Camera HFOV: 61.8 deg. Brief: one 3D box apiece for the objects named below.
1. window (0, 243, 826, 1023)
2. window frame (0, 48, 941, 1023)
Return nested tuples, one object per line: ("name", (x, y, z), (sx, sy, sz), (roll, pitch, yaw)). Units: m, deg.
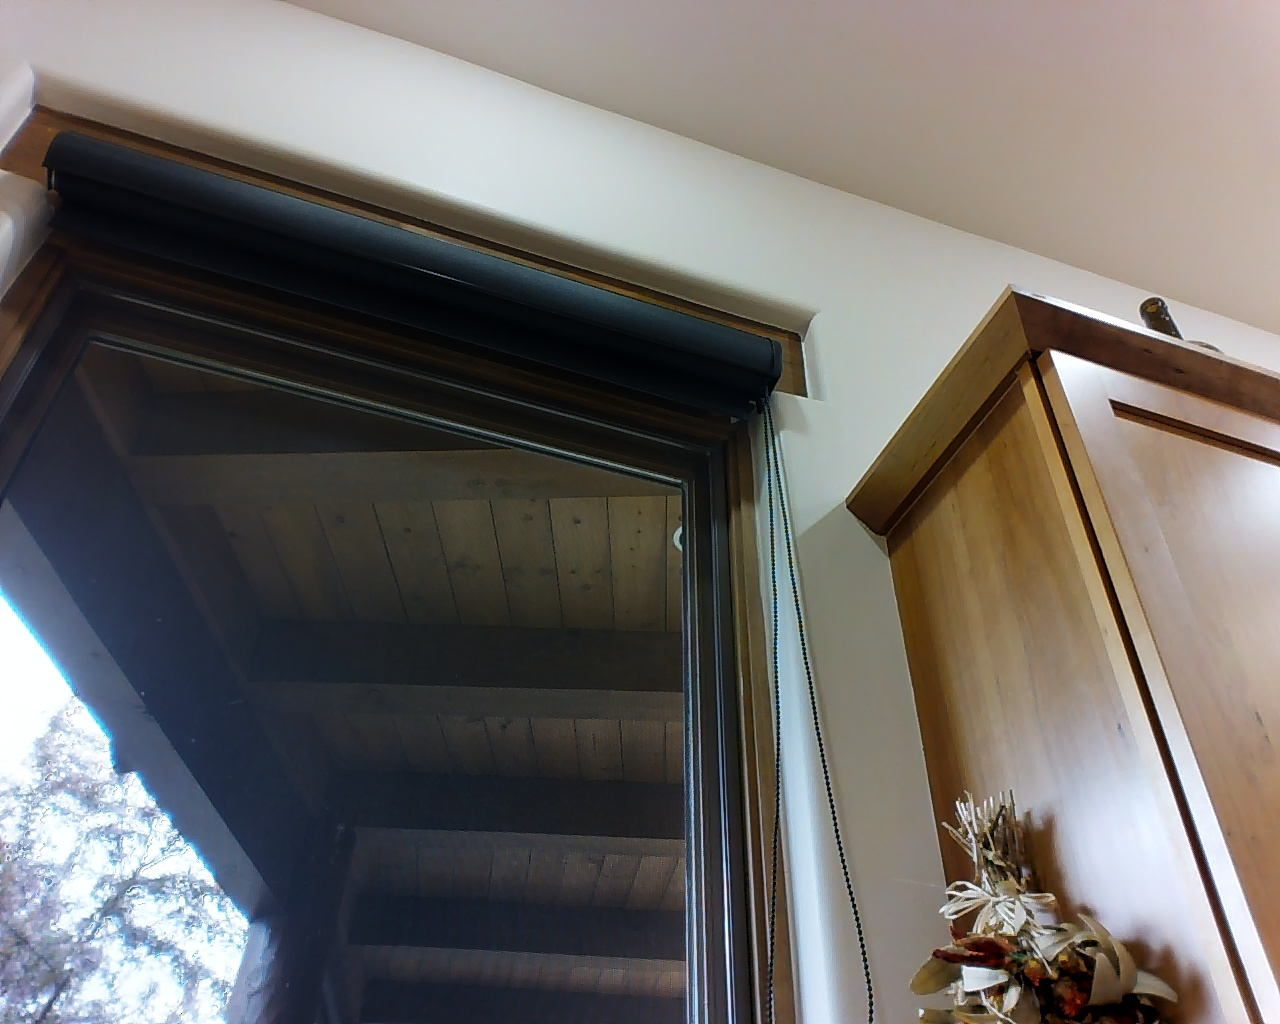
("window", (-0.260, 0.260, 0.950), (0.850, 1.130, 0.120), (14, -43, -14))
("window frame", (-0.270, 0.180, 0.960), (1.030, 1.470, 0.190), (14, -43, -14))
